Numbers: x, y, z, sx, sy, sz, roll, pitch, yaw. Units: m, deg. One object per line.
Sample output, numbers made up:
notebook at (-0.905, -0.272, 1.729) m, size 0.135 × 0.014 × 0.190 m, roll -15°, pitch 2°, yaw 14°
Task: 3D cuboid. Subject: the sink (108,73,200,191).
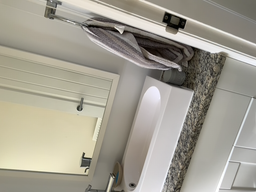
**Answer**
sink at (0.080, 0.220, 0.940) m, size 0.300 × 0.130 × 0.590 m, roll -139°, pitch 63°, yaw -67°
